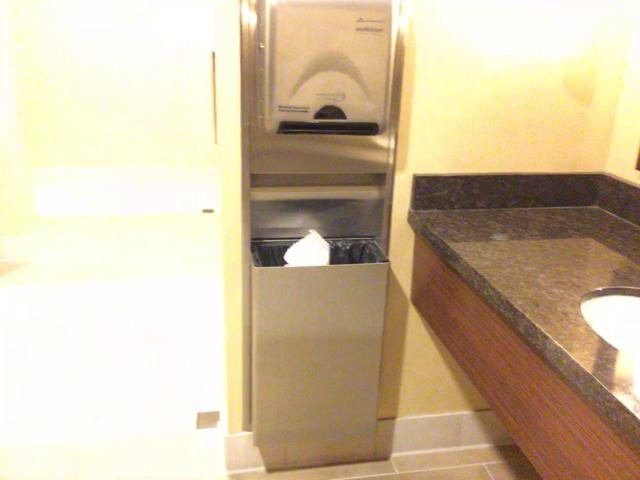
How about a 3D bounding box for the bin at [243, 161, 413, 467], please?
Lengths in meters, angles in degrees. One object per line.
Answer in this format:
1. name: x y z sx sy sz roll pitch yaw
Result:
1. bin: -0.010 0.230 1.710 0.430 0.890 0.210 0 21 -8
